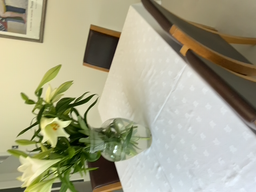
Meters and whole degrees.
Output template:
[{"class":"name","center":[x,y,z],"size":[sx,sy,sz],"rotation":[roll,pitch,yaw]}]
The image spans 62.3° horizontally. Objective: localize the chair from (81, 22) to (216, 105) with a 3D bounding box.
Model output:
[{"class":"chair","center":[0.140,-0.250,1.760],"size":[0.540,0.900,0.400],"rotation":[56,136,49]}]

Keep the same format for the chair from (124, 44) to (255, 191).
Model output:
[{"class":"chair","center":[0.540,0.180,0.910],"size":[0.390,0.920,0.540],"rotation":[60,139,46]}]
